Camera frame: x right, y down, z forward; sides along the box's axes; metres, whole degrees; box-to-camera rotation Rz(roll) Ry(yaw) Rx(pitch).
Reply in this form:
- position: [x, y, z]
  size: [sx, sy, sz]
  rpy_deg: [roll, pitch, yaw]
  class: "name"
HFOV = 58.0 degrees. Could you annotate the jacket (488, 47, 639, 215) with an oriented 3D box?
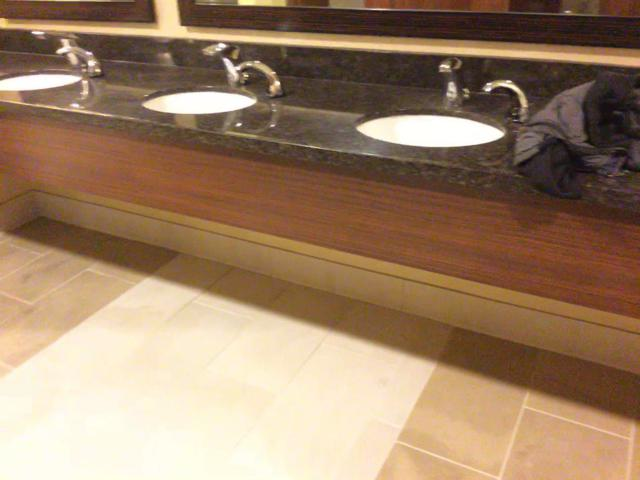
- position: [0.590, -0.230, 1.160]
  size: [0.380, 0.220, 0.340]
  rpy_deg: [16, 31, 26]
  class: "jacket"
